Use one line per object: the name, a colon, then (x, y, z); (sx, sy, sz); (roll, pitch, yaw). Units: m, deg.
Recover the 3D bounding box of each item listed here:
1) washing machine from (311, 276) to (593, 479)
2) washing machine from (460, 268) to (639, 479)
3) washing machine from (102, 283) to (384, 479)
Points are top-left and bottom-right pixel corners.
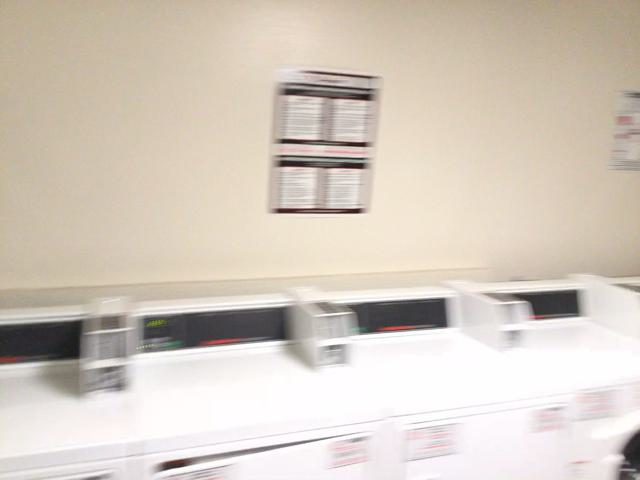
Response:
washing machine: (0.440, 0.740, 2.090); (0.710, 1.030, 0.690); (-7, 8, -14)
washing machine: (1.060, 0.720, 2.270); (0.670, 1.040, 0.750); (-7, 8, -14)
washing machine: (-0.240, 0.770, 1.890); (0.690, 1.060, 0.730); (-7, 8, -14)
